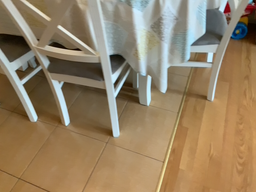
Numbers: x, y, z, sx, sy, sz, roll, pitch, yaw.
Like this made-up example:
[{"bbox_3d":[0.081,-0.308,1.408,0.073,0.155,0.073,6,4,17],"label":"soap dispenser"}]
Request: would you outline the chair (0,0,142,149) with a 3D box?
[{"bbox_3d":[-0.200,-0.230,1.030,0.400,0.880,0.510,14,51,14],"label":"chair"}]
